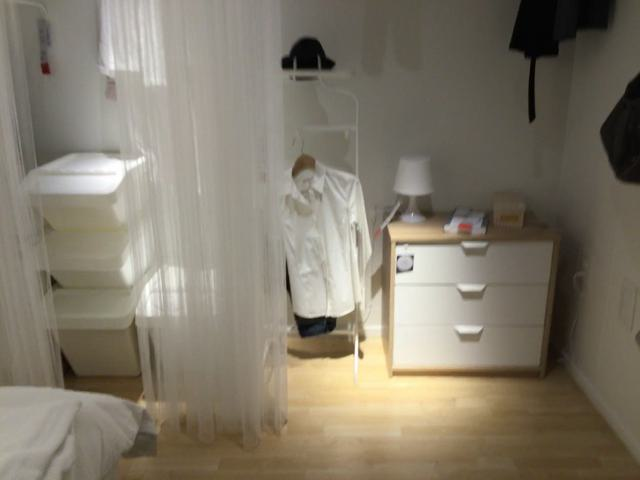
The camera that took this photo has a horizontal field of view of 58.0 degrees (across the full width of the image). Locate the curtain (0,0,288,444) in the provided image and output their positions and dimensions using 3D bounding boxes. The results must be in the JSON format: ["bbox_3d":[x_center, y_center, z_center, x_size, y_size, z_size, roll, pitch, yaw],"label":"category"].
[{"bbox_3d":[-1.320,-0.450,1.900,2.420,2.470,0.190,1,17,-1],"label":"curtain"}]

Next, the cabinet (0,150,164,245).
[{"bbox_3d":[-1.000,-0.200,2.480,0.500,0.280,0.550,1,17,-1],"label":"cabinet"}]

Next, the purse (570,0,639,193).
[{"bbox_3d":[0.980,-0.560,1.770,0.190,0.780,0.310,1,17,-1],"label":"purse"}]

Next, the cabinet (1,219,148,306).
[{"bbox_3d":[-1.000,0.090,2.400,0.490,0.300,0.210,1,17,-1],"label":"cabinet"}]

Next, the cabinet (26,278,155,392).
[{"bbox_3d":[-0.980,0.410,2.510,0.440,0.440,0.200,1,17,-1],"label":"cabinet"}]

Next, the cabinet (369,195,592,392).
[{"bbox_3d":[0.660,0.220,2.610,0.800,0.740,0.500,1,17,-1],"label":"cabinet"}]
